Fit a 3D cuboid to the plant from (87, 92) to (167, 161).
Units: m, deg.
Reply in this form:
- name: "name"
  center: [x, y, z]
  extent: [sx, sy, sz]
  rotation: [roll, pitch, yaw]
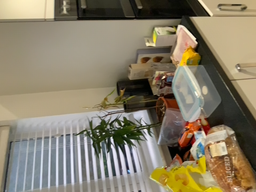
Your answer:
- name: "plant"
  center: [-0.030, 0.180, 1.280]
  extent: [0.250, 0.400, 0.280]
  rotation: [102, 159, -51]
